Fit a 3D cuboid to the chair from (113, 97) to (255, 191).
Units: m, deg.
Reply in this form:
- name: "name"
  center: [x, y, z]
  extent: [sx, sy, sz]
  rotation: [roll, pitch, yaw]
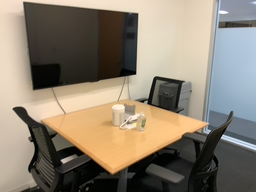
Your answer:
- name: "chair"
  center: [0.430, 0.650, 1.620]
  extent: [0.730, 1.030, 0.760]
  rotation: [15, 22, 42]

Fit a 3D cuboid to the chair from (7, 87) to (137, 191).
- name: "chair"
  center: [-0.480, 0.570, 1.850]
  extent: [0.750, 1.050, 0.810]
  rotation: [-12, 21, -36]
